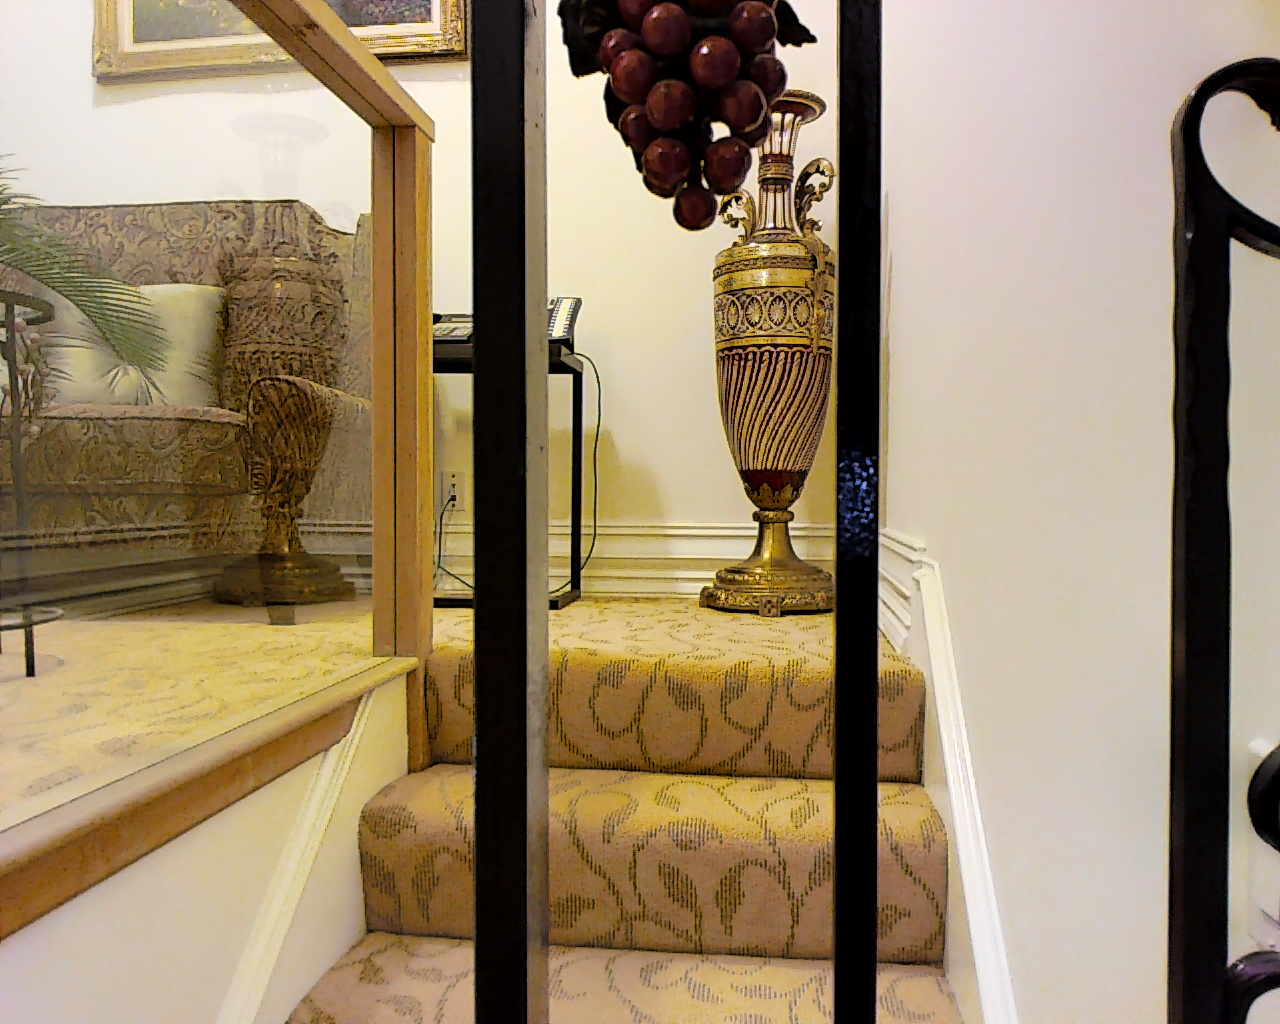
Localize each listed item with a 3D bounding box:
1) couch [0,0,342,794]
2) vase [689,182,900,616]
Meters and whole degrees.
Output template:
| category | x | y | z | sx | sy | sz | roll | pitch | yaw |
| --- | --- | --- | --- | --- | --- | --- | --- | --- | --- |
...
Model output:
| category | x | y | z | sx | sy | sz | roll | pitch | yaw |
| --- | --- | --- | --- | --- | --- | --- | --- | --- | --- |
| couch | -1.420 | -0.300 | 2.640 | 1.050 | 1.700 | 0.910 | 1 | 1 | 7 |
| vase | 0.370 | -0.330 | 2.650 | 0.410 | 1.150 | 0.420 | 1 | -44 | 7 |
